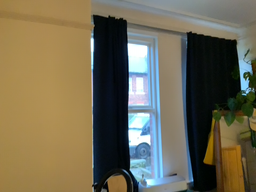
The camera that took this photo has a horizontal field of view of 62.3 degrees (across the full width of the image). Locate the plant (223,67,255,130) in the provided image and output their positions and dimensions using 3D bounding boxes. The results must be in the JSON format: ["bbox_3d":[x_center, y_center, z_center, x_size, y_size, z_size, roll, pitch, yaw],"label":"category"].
[{"bbox_3d":[1.620,0.040,2.730,0.600,0.720,0.390,1,-4,-26],"label":"plant"}]

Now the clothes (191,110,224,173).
[{"bbox_3d":[1.000,0.550,2.680,0.190,0.730,0.300,1,-4,-34],"label":"clothes"}]
